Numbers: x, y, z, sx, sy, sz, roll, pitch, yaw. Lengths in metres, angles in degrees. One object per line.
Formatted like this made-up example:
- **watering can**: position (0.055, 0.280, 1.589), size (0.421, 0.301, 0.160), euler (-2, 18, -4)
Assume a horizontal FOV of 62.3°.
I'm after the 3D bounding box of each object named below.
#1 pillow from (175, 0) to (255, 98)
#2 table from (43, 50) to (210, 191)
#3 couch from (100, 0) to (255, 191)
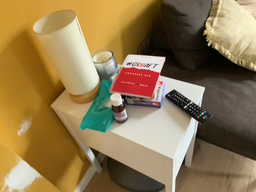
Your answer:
- **pillow**: position (0.640, -0.360, 1.210), size (0.570, 0.150, 0.580), euler (33, 59, -2)
- **table**: position (0.030, 0.200, 1.050), size (0.530, 0.660, 0.350), euler (20, 56, 24)
- **couch**: position (0.600, -0.200, 1.250), size (0.960, 0.740, 1.050), euler (19, 56, 24)
